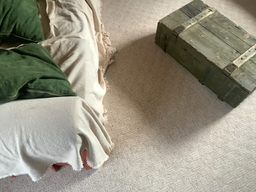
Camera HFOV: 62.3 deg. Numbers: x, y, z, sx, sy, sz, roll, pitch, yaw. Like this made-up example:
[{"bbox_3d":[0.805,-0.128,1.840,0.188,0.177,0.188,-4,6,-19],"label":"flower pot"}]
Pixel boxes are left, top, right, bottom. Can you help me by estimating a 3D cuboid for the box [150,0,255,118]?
[{"bbox_3d":[0.640,-0.320,1.610,0.500,0.280,0.800,-34,66,-20],"label":"box"}]
